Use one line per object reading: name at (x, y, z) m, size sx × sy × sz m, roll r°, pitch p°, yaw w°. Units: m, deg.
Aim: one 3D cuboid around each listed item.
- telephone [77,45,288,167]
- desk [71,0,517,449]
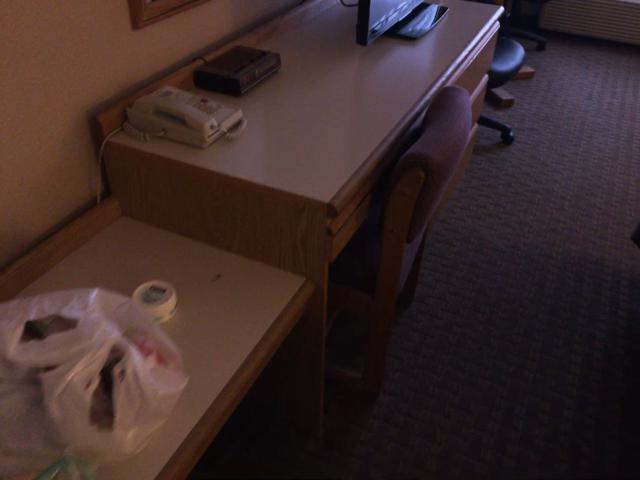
telephone at (-0.310, -0.340, 1.390) m, size 0.300 × 0.080 × 0.410 m, roll 17°, pitch 42°, yaw 20°
desk at (0.100, -0.290, 1.960) m, size 0.660 × 0.810 × 1.580 m, roll 17°, pitch 42°, yaw 20°
